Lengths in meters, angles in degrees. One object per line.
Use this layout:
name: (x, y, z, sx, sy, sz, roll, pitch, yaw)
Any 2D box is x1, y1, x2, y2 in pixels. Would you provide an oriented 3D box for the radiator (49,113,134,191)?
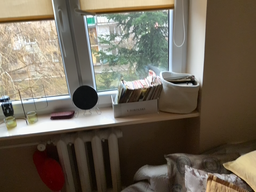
radiator: (-0.230, 0.520, 1.570, 0.500, 0.690, 0.250, -6, 22, -4)

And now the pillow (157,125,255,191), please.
pillow: (0.520, 0.470, 0.930, 0.670, 0.300, 0.770, -4, 22, 0)
